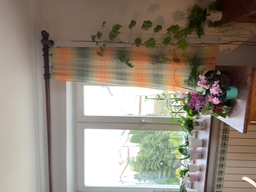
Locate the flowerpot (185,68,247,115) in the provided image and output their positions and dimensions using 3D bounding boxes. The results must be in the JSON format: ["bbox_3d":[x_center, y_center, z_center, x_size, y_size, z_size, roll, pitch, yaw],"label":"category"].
[{"bbox_3d":[0.700,-0.060,1.780,0.480,0.290,0.290,-93,5,-76],"label":"flowerpot"}]

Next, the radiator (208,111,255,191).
[{"bbox_3d":[1.300,0.670,2.330,0.200,0.650,0.970,-93,5,-77],"label":"radiator"}]
